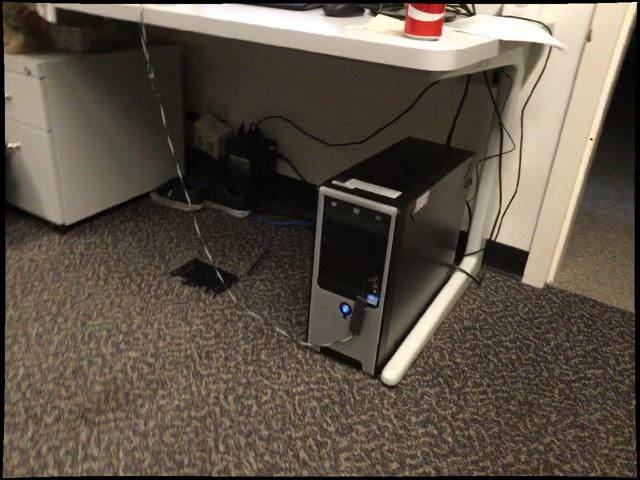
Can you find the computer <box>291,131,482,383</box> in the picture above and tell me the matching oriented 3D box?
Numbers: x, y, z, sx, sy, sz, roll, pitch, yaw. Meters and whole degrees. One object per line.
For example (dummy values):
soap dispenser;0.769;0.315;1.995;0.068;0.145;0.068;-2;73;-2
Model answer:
computer;0.170;0.010;1.410;0.220;0.420;0.490;20;31;28
